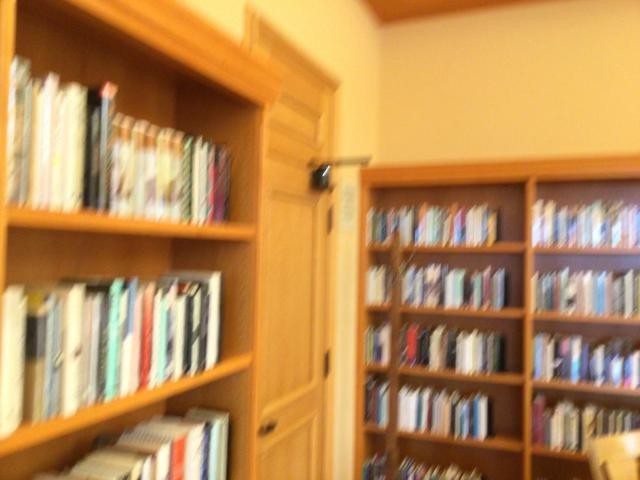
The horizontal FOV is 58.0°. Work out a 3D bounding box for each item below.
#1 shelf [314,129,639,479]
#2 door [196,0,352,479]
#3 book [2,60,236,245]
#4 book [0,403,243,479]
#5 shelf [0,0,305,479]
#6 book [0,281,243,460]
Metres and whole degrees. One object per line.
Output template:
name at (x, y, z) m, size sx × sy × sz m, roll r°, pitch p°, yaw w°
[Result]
shelf at (2.020, 0.600, 3.010) m, size 4.120 × 2.320 × 0.620 m, roll -3°, pitch -4°, yaw 22°
door at (-0.160, 0.380, 2.680) m, size 0.240 × 2.630 × 1.050 m, roll -3°, pitch -4°, yaw 22°
book at (-0.400, -0.150, 1.330) m, size 0.070 × 0.290 × 0.690 m, roll -3°, pitch -4°, yaw 22°
book at (-0.450, 0.620, 1.330) m, size 0.170 × 0.310 × 0.800 m, roll -3°, pitch -4°, yaw 22°
shelf at (-0.760, 0.540, 0.630) m, size 0.500 × 2.250 × 2.580 m, roll -3°, pitch -4°, yaw 22°
book at (-0.410, 0.240, 1.320) m, size 0.100 × 0.280 × 0.760 m, roll -3°, pitch -4°, yaw 22°
